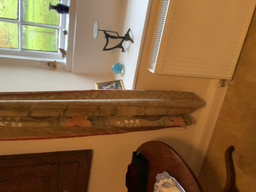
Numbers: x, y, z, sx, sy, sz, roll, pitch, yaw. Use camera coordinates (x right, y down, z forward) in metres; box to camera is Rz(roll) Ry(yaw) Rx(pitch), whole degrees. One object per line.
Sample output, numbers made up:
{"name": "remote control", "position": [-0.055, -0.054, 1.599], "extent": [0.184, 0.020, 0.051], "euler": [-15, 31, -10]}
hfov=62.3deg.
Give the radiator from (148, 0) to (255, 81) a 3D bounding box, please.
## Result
{"name": "radiator", "position": [0.510, -0.540, 1.200], "extent": [0.060, 0.650, 0.910], "euler": [-134, 51, -56]}
